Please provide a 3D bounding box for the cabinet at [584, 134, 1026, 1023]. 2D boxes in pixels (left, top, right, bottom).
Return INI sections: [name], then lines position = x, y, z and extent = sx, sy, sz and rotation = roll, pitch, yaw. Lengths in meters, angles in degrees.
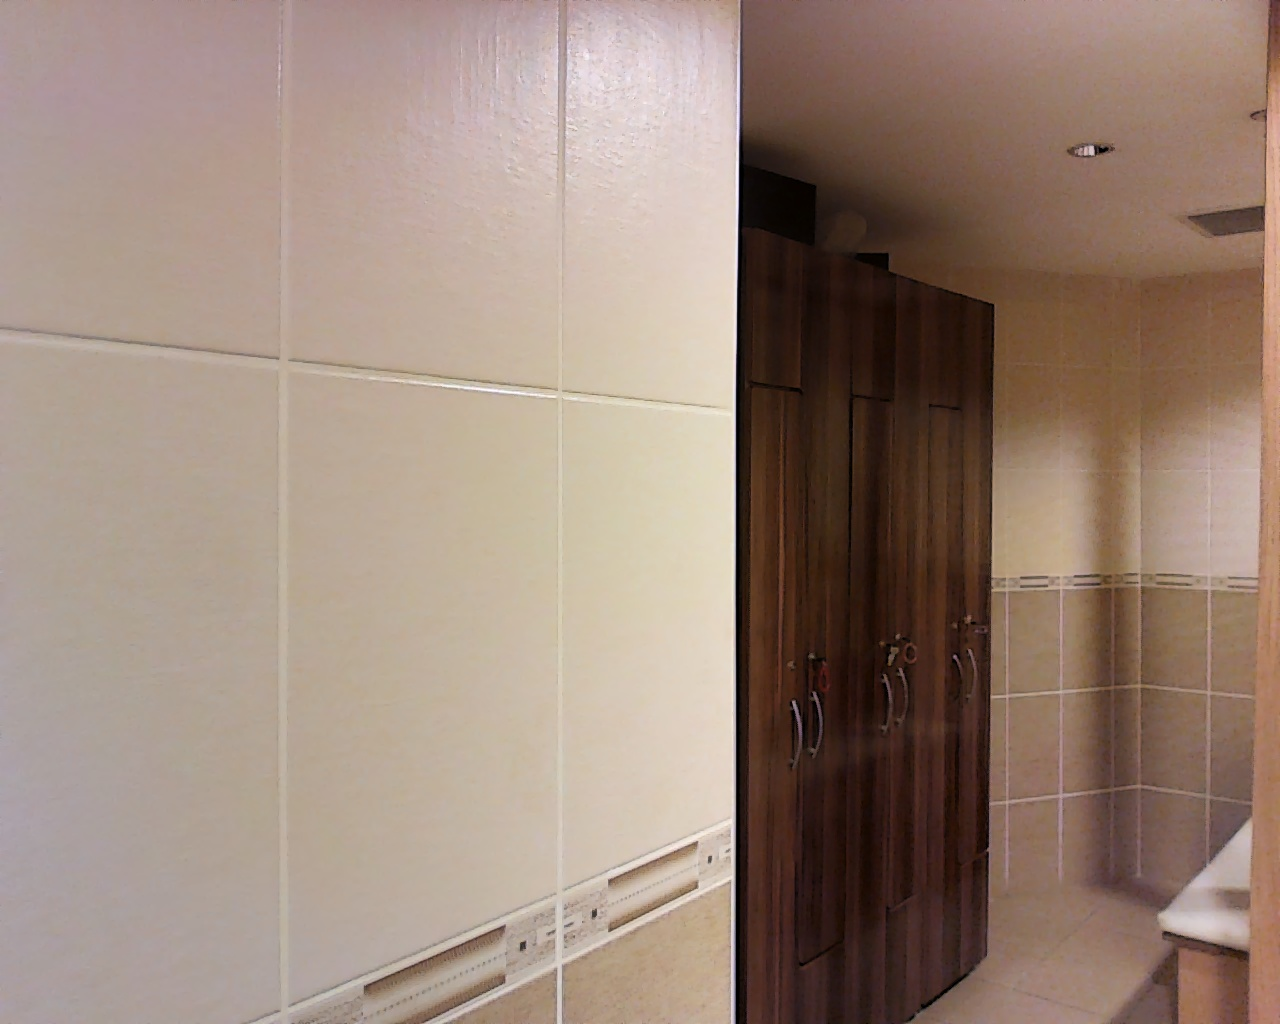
[cabinet]
position = 0.550, 0.350, 3.140
extent = 0.570, 2.401, 1.440
rotation = 1, 1, 42
